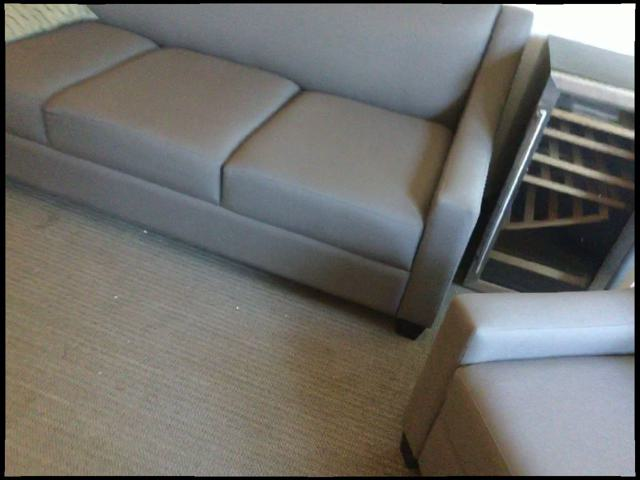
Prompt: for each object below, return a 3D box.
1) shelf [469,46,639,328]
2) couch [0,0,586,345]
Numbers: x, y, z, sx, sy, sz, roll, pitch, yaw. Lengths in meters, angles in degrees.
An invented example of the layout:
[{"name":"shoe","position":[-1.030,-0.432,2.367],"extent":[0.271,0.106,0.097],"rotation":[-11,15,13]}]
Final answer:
[{"name":"shelf","position":[0.988,-0.210,2.130],"extent":[0.649,0.681,0.630],"rotation":[15,38,8]},{"name":"couch","position":[-0.419,-0.551,2.070],"extent":[2.256,0.891,1.001],"rotation":[12,38,10]}]
